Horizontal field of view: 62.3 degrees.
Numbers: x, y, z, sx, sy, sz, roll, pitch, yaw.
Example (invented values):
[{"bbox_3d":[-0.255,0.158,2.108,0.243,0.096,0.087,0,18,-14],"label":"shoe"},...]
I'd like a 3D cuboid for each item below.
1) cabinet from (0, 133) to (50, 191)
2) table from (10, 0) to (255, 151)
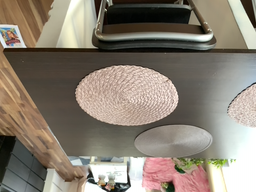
[{"bbox_3d":[-2.030,1.410,3.850,0.490,0.840,1.610,0,144,2],"label":"cabinet"},{"bbox_3d":[0.420,-0.320,1.210,1.520,1.030,0.710,1,144,0],"label":"table"}]
